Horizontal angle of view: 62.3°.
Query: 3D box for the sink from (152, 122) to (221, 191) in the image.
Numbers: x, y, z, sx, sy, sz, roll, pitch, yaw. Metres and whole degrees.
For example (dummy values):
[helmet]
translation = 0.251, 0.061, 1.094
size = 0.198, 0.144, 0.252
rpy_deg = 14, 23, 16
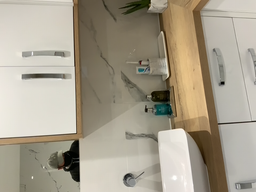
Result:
[sink]
translation = 0.250, 0.440, 0.940
size = 0.400, 0.110, 0.600
rpy_deg = 131, 135, -73
